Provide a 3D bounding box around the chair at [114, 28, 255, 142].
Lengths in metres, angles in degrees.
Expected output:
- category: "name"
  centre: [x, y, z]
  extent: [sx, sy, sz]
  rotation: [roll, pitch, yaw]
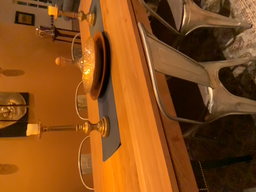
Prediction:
- category: "chair"
  centre: [0.370, -0.010, 1.160]
  extent: [0.490, 0.740, 0.340]
  rotation: [126, 139, -53]
